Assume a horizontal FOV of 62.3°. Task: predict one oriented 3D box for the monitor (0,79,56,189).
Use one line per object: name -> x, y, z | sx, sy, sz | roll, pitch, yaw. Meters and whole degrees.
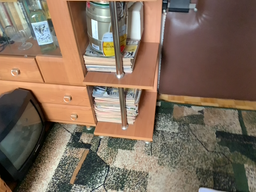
monitor -> -0.690, 0.170, 1.080 | 0.420, 0.350, 0.390 | 6, 44, 8
